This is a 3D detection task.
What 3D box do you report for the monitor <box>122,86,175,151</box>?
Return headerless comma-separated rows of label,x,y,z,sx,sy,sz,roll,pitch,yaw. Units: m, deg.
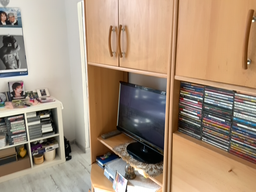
monitor,0.120,0.130,1.480,0.030,0.350,0.520,-10,13,-33
